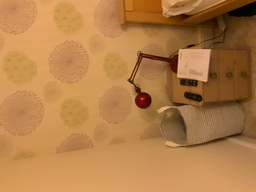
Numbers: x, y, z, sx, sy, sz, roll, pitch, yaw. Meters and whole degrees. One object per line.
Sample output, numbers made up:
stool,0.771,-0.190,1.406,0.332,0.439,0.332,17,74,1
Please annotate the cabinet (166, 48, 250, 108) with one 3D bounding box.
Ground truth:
cabinet,0.640,-0.150,1.740,0.420,0.480,0.410,-171,78,-67
